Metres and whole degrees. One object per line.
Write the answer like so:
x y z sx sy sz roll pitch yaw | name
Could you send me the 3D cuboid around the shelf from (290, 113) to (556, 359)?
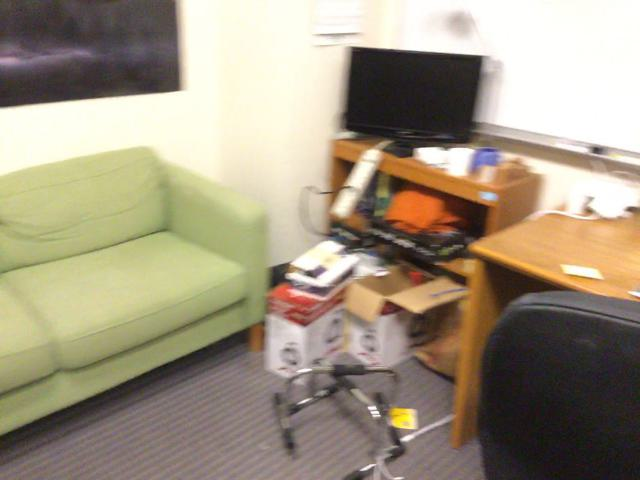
0.370 -0.090 2.430 0.520 0.700 0.920 -18 29 -40 | shelf
